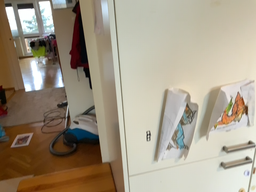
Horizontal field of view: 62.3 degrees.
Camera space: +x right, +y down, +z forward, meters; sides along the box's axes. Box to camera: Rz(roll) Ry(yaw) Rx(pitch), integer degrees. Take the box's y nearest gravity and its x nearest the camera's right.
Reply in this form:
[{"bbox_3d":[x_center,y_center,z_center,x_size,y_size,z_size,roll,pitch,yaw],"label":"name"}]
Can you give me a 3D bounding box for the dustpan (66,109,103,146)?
[{"bbox_3d":[-0.520,0.380,2.650,0.390,0.250,0.420,-6,21,-5],"label":"dustpan"}]
